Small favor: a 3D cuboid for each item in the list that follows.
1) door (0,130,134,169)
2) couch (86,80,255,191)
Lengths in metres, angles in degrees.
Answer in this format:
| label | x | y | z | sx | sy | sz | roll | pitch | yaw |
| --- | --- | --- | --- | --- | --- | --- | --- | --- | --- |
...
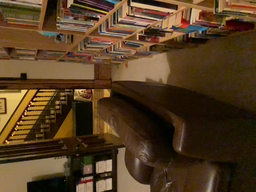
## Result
| label | x | y | z | sx | sy | sz | roll | pitch | yaw |
| --- | --- | --- | --- | --- | --- | --- | --- | --- | --- |
| door | -1.120 | 0.780 | 3.250 | 0.970 | 2.230 | 0.120 | -173 | 83 | -65 |
| couch | 0.280 | 0.470 | 1.610 | 1.090 | 0.930 | 1.040 | -154 | 66 | -63 |
